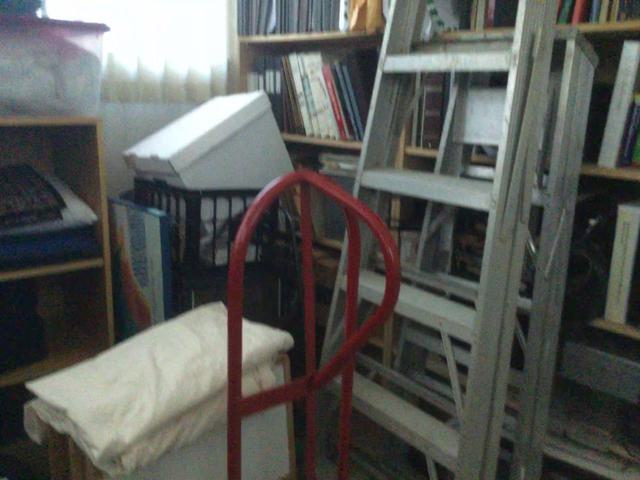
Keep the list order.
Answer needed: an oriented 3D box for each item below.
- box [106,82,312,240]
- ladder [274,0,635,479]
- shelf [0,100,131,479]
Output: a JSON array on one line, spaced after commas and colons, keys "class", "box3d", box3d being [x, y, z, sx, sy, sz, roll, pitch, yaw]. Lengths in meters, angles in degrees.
[{"class": "box", "box3d": [-0.370, -0.250, 1.900, 0.440, 0.340, 0.440, -11, -8, -42]}, {"class": "ladder", "box3d": [0.320, -0.190, 1.500, 0.410, 2.390, 0.640, -5, 15, -43]}, {"class": "shelf", "box3d": [-1.130, 0.170, 1.670, 0.930, 1.110, 0.510, -11, 19, -42]}]
